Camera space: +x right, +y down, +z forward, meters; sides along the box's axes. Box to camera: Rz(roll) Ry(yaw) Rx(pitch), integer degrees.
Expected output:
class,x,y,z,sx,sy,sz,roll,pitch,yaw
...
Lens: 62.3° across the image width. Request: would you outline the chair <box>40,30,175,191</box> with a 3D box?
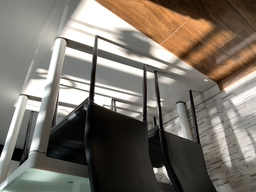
class,x,y,z,sx,sy,sz,roll,pitch,yaw
chair,-0.120,0.220,1.120,0.410,0.990,0.480,24,135,-31
